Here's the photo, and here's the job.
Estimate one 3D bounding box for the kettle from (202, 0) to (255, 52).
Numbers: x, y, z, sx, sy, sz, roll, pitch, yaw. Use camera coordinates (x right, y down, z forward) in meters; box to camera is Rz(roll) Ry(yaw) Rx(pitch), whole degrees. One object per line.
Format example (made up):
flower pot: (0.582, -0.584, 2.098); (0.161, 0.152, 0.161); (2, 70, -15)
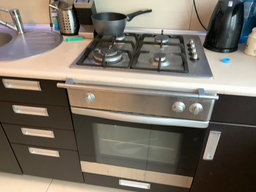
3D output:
kettle: (0.500, -0.360, 1.030); (0.200, 0.200, 0.240); (5, 34, 7)

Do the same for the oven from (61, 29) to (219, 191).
oven: (0.080, 0.130, 1.270); (0.590, 0.850, 0.600); (5, 34, 8)
